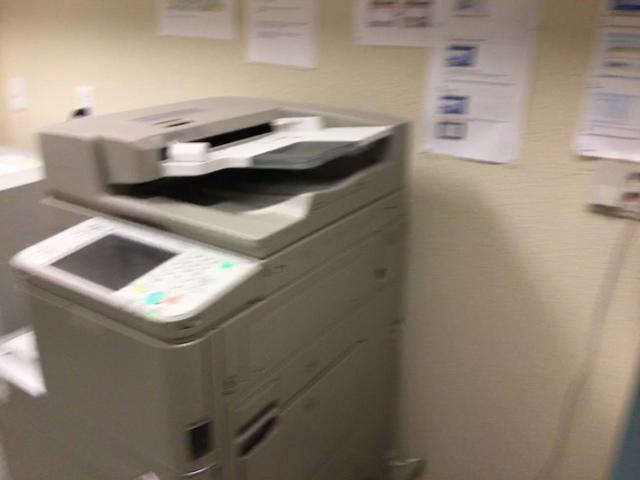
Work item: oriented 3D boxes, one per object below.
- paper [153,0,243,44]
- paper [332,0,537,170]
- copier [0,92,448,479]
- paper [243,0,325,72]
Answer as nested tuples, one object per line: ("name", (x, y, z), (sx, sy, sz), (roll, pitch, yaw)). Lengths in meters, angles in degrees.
("paper", (-0.330, -0.640, 1.540), (0.300, 0.210, 0.030), (15, 21, 30))
("paper", (0.230, -0.420, 1.220), (0.400, 0.480, 0.070), (15, 21, 30))
("copier", (-0.250, 0.320, 1.330), (0.680, 1.210, 0.780), (15, 21, 30))
("paper", (-0.090, -0.560, 1.400), (0.220, 0.280, 0.030), (15, 21, 30))
